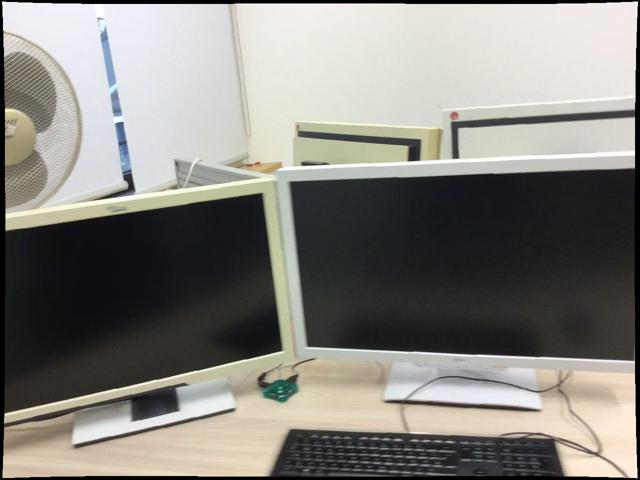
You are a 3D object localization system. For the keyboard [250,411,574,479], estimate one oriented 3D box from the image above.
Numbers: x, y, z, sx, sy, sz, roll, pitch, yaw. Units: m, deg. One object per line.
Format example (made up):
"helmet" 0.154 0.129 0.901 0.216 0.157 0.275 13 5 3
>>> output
"keyboard" 0.140 0.360 0.910 0.480 0.020 0.220 -1 18 17
